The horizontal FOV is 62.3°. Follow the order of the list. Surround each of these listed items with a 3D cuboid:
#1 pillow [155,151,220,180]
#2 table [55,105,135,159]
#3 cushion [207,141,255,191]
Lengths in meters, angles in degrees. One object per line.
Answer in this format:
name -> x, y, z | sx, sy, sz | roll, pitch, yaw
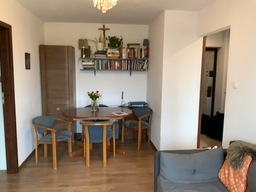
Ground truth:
pillow -> 0.610, 0.730, 2.200 | 0.590, 0.260, 0.140 | 7, 29, -16
table -> -0.600, 0.610, 3.990 | 1.290, 0.740, 0.950 | 0, 7, -9
cushion -> 1.030, 0.710, 2.040 | 0.270, 0.390, 0.500 | 1, 7, -8
